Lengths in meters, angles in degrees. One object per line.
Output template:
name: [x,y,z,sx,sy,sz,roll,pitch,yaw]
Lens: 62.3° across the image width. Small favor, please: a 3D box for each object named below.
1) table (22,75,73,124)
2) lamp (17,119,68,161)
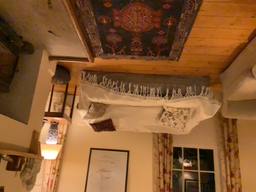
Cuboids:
table: [-1.330,0.080,3.590,0.540,0.680,0.530,2,162,4]
lamp: [-1.350,0.720,3.430,0.580,0.610,0.370,3,162,2]
